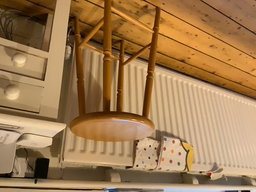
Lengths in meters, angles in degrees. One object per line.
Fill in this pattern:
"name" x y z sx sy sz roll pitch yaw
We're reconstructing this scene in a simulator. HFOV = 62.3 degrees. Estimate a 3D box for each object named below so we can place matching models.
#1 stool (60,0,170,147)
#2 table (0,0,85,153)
"stool" -0.070 -0.150 1.020 0.340 0.690 0.330 14 152 -28
"table" -0.510 -0.210 0.830 0.530 0.740 0.420 14 152 -28
